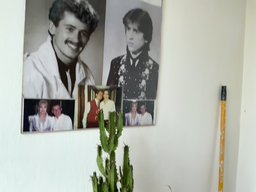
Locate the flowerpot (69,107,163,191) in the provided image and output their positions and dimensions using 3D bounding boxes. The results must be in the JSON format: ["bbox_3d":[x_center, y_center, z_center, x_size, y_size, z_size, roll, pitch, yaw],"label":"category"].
[{"bbox_3d":[-0.060,0.380,0.680,0.200,0.670,0.240,2,2,-29],"label":"flowerpot"}]
